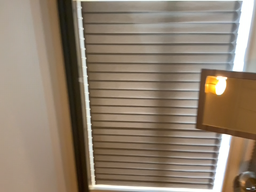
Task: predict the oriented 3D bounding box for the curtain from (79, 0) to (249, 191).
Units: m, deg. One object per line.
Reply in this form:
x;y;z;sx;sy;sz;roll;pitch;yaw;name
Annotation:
0.240;0.090;1.830;0.040;1.230;1.840;-78;-11;-71;curtain
